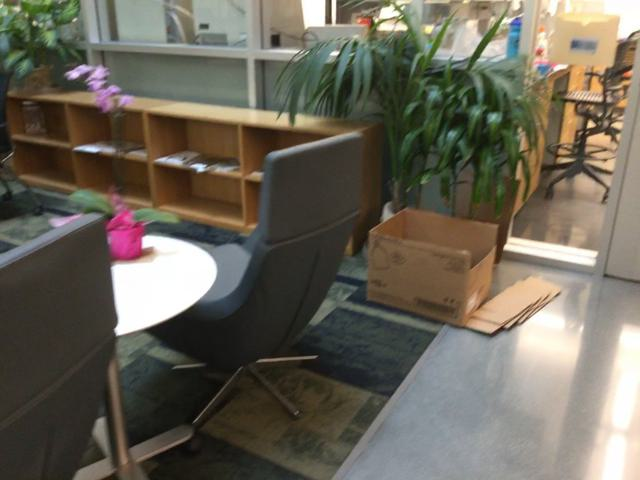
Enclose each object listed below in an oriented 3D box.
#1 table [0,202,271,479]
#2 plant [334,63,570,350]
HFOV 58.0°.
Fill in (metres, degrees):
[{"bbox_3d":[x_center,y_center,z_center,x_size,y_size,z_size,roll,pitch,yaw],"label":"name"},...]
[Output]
[{"bbox_3d":[-0.600,0.380,1.660,0.610,0.730,0.630,17,24,25],"label":"table"},{"bbox_3d":[0.590,-0.210,2.650,0.710,1.060,0.640,17,24,25],"label":"plant"}]
